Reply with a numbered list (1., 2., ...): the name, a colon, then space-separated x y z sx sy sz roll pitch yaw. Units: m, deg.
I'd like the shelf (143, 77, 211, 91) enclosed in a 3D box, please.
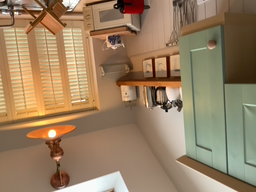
1. shelf: 0.340 -0.100 1.620 0.160 0.070 0.590 -8 -172 -26
